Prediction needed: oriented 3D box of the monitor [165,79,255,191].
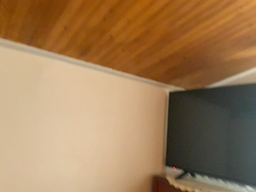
[{"bbox_3d":[0.720,0.260,1.420,0.070,0.710,1.100,12,-12,-41],"label":"monitor"}]
